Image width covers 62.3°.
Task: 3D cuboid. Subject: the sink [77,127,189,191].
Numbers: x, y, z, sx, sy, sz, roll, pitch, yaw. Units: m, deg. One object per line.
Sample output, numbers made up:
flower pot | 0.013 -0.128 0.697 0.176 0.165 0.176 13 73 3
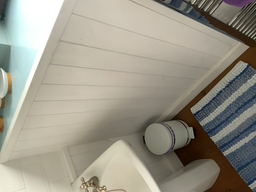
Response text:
sink | 0.050 0.490 0.950 0.380 0.230 0.550 -51 58 33
